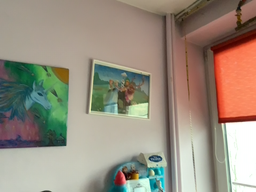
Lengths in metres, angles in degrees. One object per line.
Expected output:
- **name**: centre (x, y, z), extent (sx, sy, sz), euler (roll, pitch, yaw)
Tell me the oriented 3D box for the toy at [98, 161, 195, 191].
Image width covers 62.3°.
- **toy**: centre (0.100, 0.520, 1.120), extent (0.460, 0.280, 0.240), euler (6, -12, -31)
